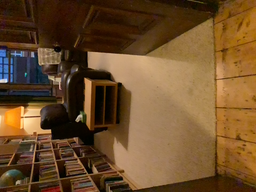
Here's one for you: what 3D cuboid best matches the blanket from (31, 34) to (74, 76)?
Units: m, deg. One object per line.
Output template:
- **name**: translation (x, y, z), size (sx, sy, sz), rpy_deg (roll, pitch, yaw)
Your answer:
- **blanket**: translation (-1.810, -0.970, 5.130), size (0.580, 0.720, 0.730), rpy_deg (49, 166, -15)
